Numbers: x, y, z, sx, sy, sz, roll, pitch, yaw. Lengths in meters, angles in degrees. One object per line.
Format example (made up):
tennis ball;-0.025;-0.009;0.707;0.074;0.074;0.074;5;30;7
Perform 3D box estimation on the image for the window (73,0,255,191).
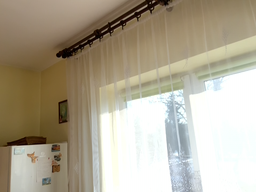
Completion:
window;0.390;0.230;1.400;2.040;1.570;0.310;-14;-15;39
